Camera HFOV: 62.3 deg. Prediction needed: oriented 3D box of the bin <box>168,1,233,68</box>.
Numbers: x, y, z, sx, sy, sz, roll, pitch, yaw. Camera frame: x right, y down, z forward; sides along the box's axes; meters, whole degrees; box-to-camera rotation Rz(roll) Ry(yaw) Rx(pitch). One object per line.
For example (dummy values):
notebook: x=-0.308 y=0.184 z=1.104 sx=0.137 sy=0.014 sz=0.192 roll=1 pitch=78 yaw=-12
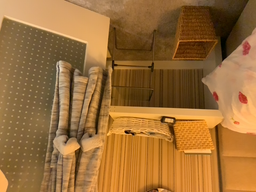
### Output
bin: x=0.460 y=-0.400 z=1.450 sx=0.310 sy=0.260 sz=0.380 roll=3 pitch=163 yaw=1

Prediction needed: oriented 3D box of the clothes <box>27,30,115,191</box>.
clothes: x=-0.290 y=0.330 z=1.040 sx=0.290 sy=1.290 sz=0.200 roll=16 pitch=158 yaw=-33

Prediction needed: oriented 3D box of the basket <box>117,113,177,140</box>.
basket: x=0.140 y=0.250 z=1.690 sx=0.430 sy=0.140 sz=0.330 roll=3 pitch=163 yaw=2

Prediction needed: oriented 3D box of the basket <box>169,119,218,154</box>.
basket: x=0.480 y=0.320 z=1.630 sx=0.280 sy=0.210 sz=0.360 roll=2 pitch=162 yaw=4
